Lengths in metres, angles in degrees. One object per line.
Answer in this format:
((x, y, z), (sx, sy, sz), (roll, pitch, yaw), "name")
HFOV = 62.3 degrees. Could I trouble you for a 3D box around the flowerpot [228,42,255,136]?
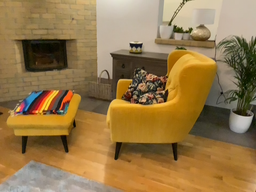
((1.670, -0.080, 2.680), (0.500, 1.080, 0.460), (10, 22, 17), "flowerpot")
